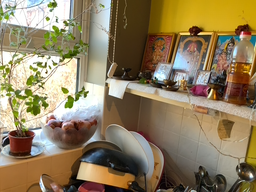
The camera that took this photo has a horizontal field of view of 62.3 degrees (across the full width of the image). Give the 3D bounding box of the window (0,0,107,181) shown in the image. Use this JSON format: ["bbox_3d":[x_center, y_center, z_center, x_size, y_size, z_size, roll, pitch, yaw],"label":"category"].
[{"bbox_3d":[-0.530,-0.240,0.850,0.970,1.180,0.160,-4,13,-45],"label":"window"}]
